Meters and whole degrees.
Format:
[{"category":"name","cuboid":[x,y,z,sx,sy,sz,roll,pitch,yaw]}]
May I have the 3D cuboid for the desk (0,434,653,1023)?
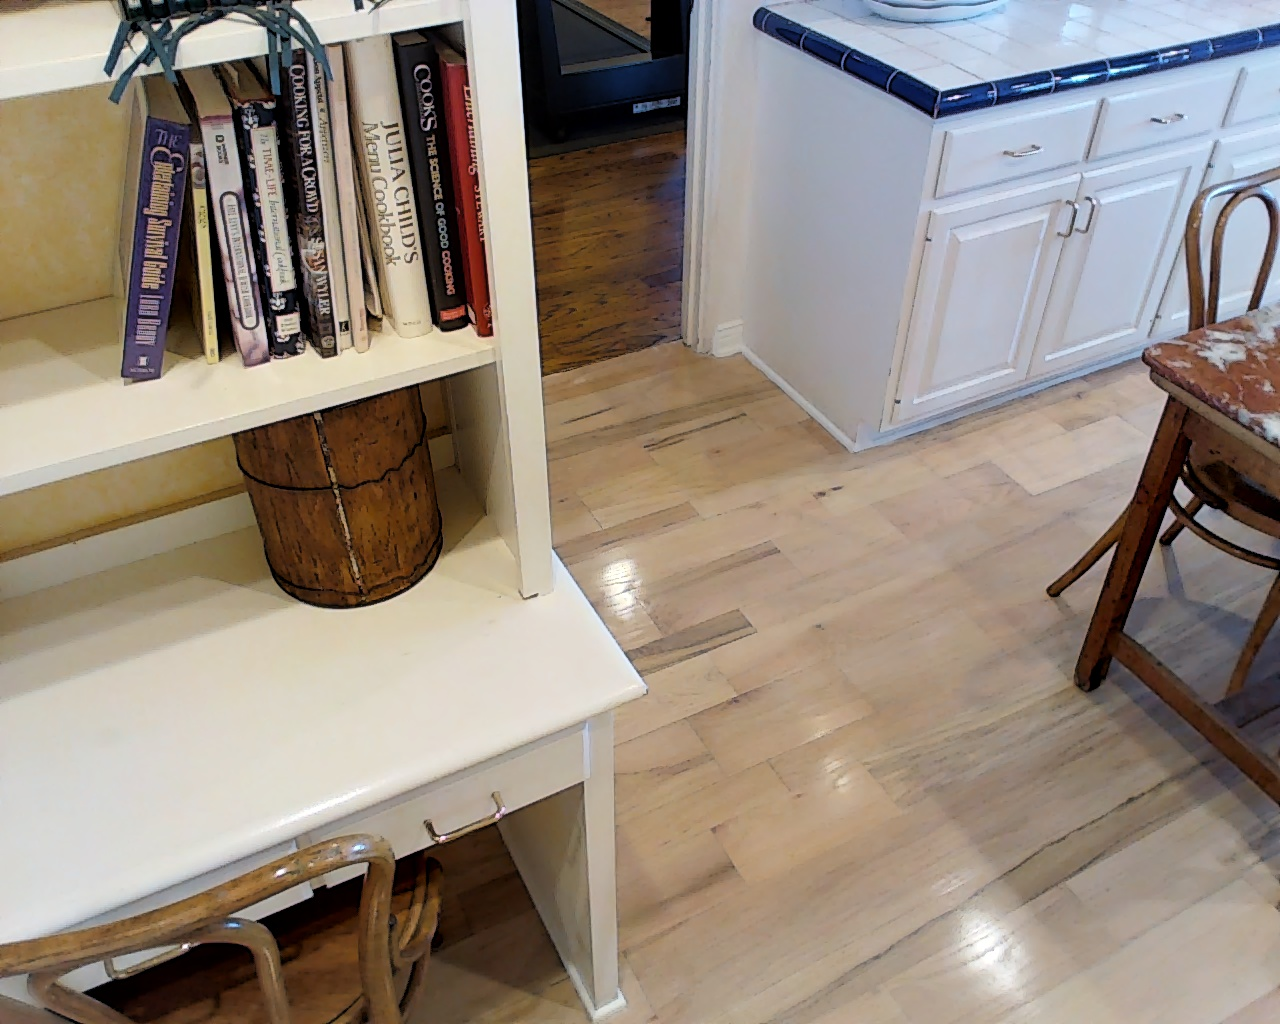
[{"category":"desk","cuboid":[-0.590,0.490,1.340,1.120,0.780,0.460,-18,43,-20]}]
